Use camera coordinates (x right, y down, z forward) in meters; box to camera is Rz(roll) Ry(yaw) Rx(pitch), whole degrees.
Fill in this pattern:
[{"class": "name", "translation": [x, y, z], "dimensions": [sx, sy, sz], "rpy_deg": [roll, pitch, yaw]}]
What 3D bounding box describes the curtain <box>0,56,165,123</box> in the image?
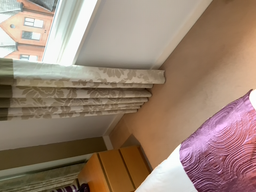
[{"class": "curtain", "translation": [-0.670, -0.020, 1.470], "dimensions": [0.550, 2.120, 0.110], "rpy_deg": [-53, 51, 40]}]
